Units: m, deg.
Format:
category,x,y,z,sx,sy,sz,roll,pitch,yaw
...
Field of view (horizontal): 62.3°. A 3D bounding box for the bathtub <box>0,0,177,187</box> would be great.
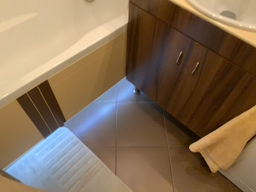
category,x,y,z,sx,sy,sz,roll,pitch,yaw
bathtub,-0.430,-0.260,1.320,0.670,0.620,1.360,41,64,21
